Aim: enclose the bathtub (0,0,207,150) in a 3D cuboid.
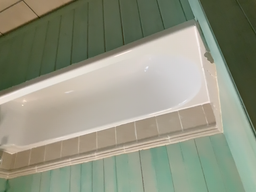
[{"bbox_3d":[-0.400,-0.130,1.420,1.620,0.540,0.670,-15,148,17],"label":"bathtub"}]
